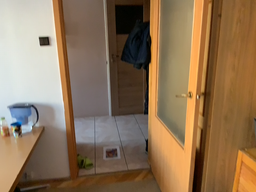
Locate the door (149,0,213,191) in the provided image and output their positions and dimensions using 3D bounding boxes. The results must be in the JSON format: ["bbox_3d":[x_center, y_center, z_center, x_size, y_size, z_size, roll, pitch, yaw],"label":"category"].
[{"bbox_3d":[0.320,-0.110,1.600,0.060,1.910,0.880,-3,17,-9],"label":"door"}]
